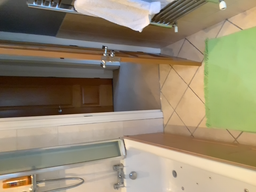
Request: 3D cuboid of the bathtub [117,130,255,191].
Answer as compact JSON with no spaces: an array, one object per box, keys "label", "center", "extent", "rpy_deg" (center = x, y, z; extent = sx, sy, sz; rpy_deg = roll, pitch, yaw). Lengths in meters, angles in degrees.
[{"label":"bathtub","center":[0.540,0.710,1.570],"extent":[1.690,0.560,0.760],"rpy_deg":[-10,82,62]}]
